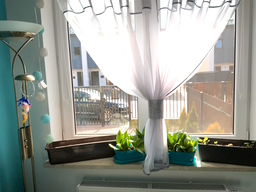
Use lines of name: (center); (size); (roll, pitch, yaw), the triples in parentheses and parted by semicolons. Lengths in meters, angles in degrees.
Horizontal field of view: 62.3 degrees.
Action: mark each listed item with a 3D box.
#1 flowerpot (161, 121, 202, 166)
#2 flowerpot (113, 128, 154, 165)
flowerpot: (0.360, 0.320, 1.470); (0.250, 0.250, 0.190); (-1, 7, 5)
flowerpot: (0.050, 0.350, 1.510); (0.270, 0.190, 0.200); (-1, 7, 7)
